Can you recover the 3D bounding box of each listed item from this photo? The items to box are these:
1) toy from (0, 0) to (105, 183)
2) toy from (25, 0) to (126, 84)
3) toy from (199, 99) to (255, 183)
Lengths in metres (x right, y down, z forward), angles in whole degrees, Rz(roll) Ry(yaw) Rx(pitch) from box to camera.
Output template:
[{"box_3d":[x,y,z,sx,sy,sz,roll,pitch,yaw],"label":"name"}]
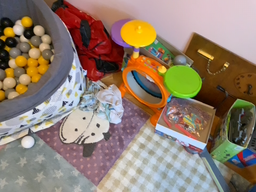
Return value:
[{"box_3d":[-0.740,-0.150,1.250,0.880,0.440,0.800,39,66,16],"label":"toy"},{"box_3d":[-0.340,-0.400,1.450,0.560,0.260,0.310,34,65,14],"label":"toy"},{"box_3d":[0.660,0.260,1.190,0.370,0.230,0.260,31,64,12],"label":"toy"}]
